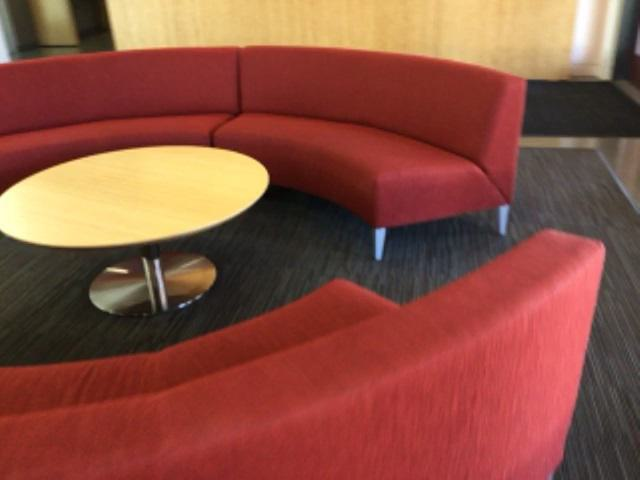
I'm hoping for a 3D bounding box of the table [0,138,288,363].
[{"bbox_3d":[-0.710,-0.020,2.450,0.990,0.490,1.030,0,29,5],"label":"table"}]

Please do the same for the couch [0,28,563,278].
[{"bbox_3d":[-0.480,-0.590,3.110,3.040,0.800,1.330,3,29,11],"label":"couch"}]
